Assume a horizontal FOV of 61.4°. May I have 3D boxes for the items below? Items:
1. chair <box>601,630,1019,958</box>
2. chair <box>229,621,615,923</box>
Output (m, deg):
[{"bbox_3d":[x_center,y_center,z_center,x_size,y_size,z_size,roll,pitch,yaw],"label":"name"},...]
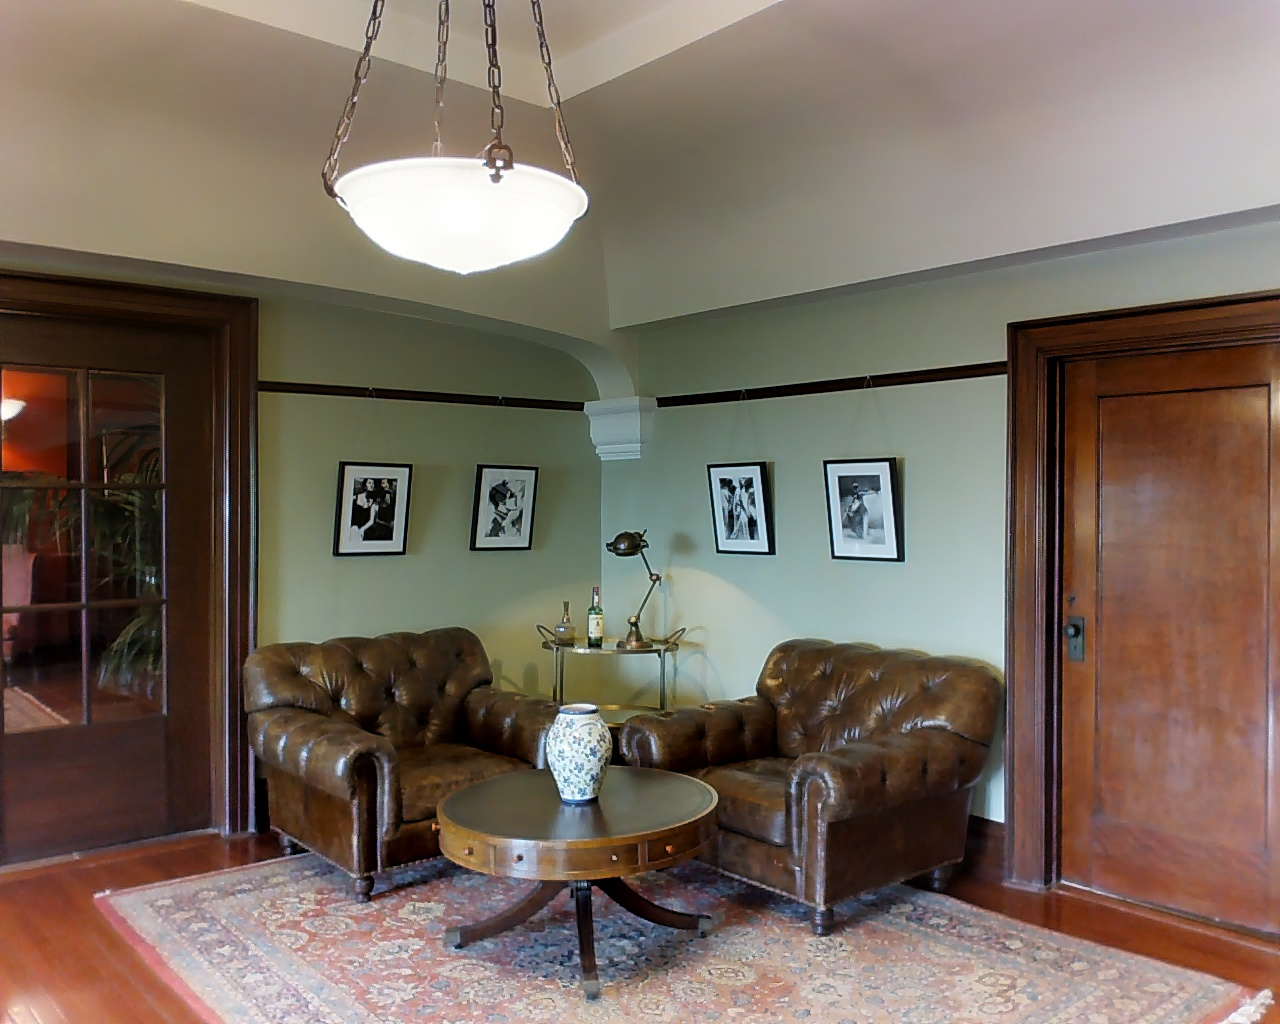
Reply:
[{"bbox_3d":[0.680,1.040,4.470,1.110,0.900,1.300,0,1,-41],"label":"chair"},{"bbox_3d":[-0.970,1.030,4.770,1.260,0.910,1.170,0,1,-41],"label":"chair"}]
